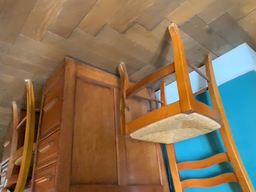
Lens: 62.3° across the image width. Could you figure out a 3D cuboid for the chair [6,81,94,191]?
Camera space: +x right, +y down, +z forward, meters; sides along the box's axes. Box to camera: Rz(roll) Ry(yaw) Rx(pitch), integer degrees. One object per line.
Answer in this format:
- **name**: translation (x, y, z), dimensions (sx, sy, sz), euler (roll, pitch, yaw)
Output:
- **chair**: translation (-0.520, 0.410, 1.430), dimensions (0.440, 0.860, 0.400), euler (13, 148, -29)
